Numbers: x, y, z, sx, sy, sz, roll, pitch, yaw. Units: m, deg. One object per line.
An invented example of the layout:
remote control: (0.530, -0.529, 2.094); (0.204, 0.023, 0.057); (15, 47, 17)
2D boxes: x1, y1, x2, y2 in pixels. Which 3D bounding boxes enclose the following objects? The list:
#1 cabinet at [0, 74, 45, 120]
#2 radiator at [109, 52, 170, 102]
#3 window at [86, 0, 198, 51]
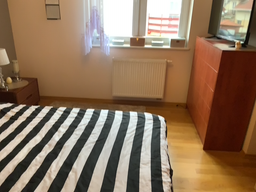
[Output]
cabinet: (-1.560, -0.010, 3.050); (0.430, 0.440, 0.620); (3, 22, 3)
radiator: (0.160, -0.290, 3.300); (0.880, 0.730, 0.170); (3, 22, 2)
window: (0.200, -1.560, 3.090); (1.600, 1.690, 0.210); (3, 22, 2)
